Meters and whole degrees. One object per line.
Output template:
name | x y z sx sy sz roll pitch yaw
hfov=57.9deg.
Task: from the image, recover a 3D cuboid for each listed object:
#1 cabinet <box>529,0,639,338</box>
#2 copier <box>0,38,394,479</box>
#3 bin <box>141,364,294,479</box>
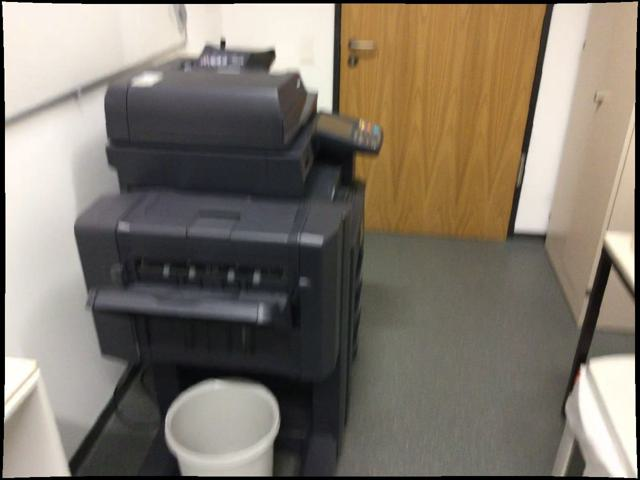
cabinet | 1.359 -0.711 2.340 0.480 2.062 0.900 5 29 8
copier | -0.220 0.120 1.710 0.729 1.161 1.120 5 29 8
bin | -0.270 0.601 1.660 0.330 0.310 0.320 5 29 8
